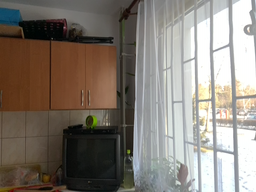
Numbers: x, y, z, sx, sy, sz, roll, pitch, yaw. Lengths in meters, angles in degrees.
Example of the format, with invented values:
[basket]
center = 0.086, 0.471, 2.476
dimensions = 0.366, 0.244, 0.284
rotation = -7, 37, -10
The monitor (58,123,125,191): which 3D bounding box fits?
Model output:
[monitor]
center = -0.300, 0.520, 1.940
dimensions = 0.510, 0.490, 0.430
rotation = 0, -2, 5
